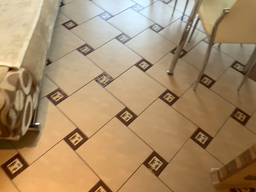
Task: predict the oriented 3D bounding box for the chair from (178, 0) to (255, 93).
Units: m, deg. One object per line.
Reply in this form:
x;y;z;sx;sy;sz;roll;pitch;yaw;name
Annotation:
0.660;-0.530;1.340;0.370;0.970;0.530;4;55;-3;chair
